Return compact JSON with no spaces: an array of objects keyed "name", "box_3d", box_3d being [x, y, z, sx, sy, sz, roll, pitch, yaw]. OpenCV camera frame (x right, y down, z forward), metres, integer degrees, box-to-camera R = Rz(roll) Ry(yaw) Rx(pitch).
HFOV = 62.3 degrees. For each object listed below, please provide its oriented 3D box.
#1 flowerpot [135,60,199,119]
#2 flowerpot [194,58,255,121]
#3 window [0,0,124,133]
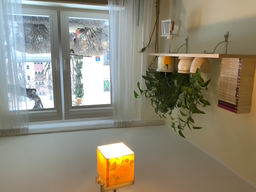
[{"name":"flowerpot","box_3d":[0.380,-0.110,2.300,0.450,0.530,0.600,-2,-168,-15]},{"name":"flowerpot","box_3d":[0.790,-0.080,1.700,0.260,0.420,0.460,-2,-168,-14]},{"name":"window","box_3d":[-0.830,-0.360,2.620,1.530,1.470,0.280,-3,-168,-18]}]
